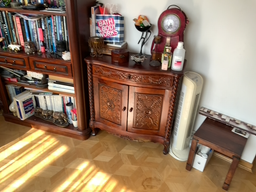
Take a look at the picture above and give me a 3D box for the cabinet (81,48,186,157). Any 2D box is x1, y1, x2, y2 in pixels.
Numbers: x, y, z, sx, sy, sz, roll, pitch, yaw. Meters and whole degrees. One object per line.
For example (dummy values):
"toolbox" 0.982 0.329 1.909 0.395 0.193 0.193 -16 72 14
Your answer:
"cabinet" 0.040 0.050 1.960 0.810 0.800 0.360 11 31 14

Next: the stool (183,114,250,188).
"stool" 0.730 0.440 1.770 0.360 0.370 0.330 23 36 31
